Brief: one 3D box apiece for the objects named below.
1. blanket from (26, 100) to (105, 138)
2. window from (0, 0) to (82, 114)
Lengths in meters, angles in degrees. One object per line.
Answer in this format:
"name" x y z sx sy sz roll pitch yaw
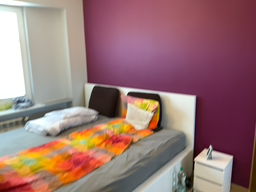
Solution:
"blanket" -0.800 0.270 2.840 0.520 0.200 0.870 8 15 36
"window" -1.700 -0.520 2.760 0.220 1.480 2.370 10 16 42
